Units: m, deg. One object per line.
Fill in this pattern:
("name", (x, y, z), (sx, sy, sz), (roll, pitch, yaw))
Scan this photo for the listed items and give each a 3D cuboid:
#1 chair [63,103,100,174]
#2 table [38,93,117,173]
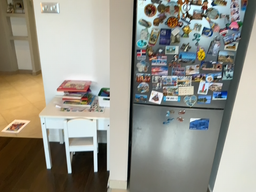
("chair", (-0.400, 0.380, 1.920), (0.280, 0.550, 0.300), (0, 22, -7))
("table", (-0.430, 0.330, 2.010), (0.600, 0.560, 0.460), (3, 22, 0))
